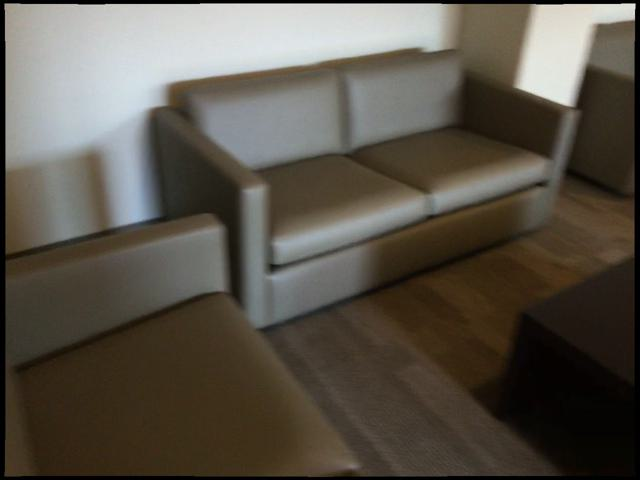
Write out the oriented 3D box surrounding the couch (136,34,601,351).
[{"bbox_3d":[0.200,-0.341,2.490,1.638,0.731,0.890,-16,37,-27],"label":"couch"}]
